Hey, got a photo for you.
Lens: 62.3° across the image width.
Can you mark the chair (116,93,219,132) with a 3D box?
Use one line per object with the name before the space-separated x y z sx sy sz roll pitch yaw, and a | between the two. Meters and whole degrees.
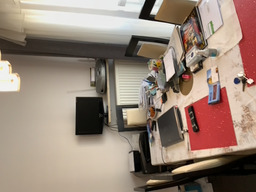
chair | 0.420 0.190 2.430 0.410 1.050 0.310 121 146 -65
